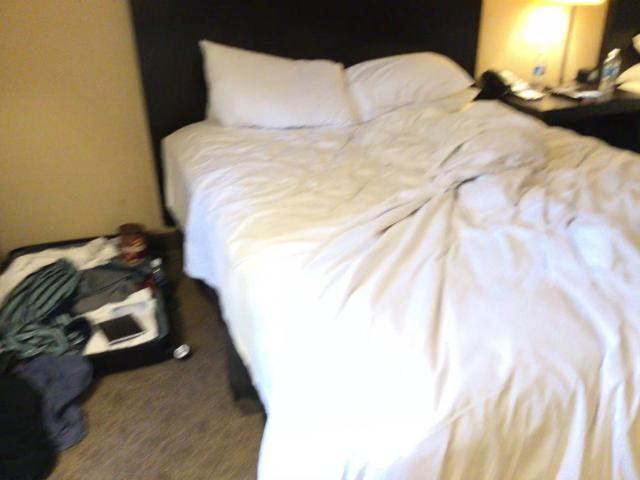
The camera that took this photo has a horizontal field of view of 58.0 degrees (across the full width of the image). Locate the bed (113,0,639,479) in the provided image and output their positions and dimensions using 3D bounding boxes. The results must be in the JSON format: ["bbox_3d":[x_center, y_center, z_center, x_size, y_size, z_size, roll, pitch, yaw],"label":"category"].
[{"bbox_3d":[0.410,-0.200,1.850,1.730,1.400,2.300,-13,27,-16],"label":"bed"}]

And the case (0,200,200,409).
[{"bbox_3d":[-0.900,0.180,2.220,0.690,0.270,0.890,-13,27,-16],"label":"case"}]

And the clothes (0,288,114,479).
[{"bbox_3d":[-0.910,0.470,1.780,0.450,0.240,0.730,-13,27,-16],"label":"clothes"}]
